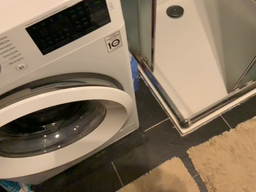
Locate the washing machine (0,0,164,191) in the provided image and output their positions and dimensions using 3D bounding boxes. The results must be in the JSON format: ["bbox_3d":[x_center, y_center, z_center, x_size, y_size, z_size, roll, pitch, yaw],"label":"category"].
[{"bbox_3d":[-0.340,-0.070,0.810,0.620,0.860,0.650,-29,65,-9],"label":"washing machine"}]
